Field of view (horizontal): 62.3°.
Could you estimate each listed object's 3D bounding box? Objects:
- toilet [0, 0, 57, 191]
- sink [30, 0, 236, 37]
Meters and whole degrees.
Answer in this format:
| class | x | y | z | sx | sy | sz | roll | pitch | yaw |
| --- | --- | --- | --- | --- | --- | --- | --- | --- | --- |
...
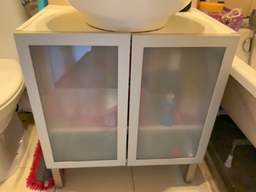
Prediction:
| class | x | y | z | sx | sy | sz | roll | pitch | yaw |
| --- | --- | --- | --- | --- | --- | --- | --- | --- | --- |
| toilet | -0.620 | -0.060 | 0.900 | 0.390 | 0.740 | 0.700 | -1 | 32 | -6 |
| sink | 0.000 | -0.330 | 0.650 | 0.450 | 0.160 | 0.450 | -1 | 32 | -6 |
